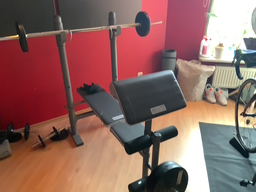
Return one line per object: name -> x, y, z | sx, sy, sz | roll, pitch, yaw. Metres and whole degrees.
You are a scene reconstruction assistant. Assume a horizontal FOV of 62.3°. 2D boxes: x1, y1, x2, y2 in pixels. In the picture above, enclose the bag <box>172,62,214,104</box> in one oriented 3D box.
bag -> 0.880, -0.190, 2.960 | 0.480, 0.440, 0.380 | 6, 28, 11
